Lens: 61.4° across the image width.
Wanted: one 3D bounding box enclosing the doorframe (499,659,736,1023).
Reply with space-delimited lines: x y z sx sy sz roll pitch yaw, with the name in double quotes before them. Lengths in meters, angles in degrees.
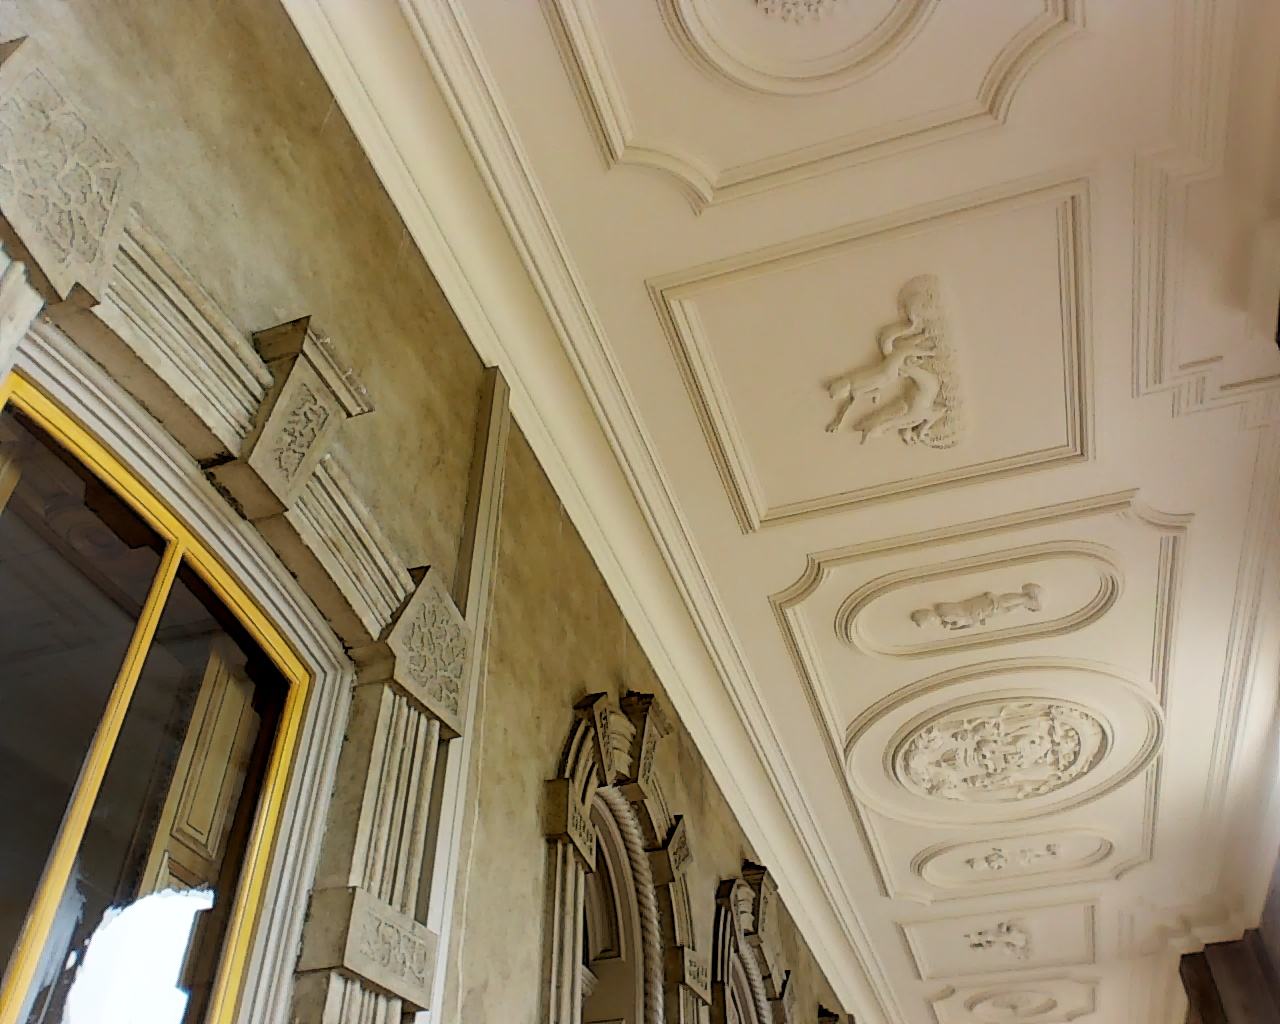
"doorframe" 0.000 2.931 4.190 0.320 4.221 2.140 -14 -45 14
